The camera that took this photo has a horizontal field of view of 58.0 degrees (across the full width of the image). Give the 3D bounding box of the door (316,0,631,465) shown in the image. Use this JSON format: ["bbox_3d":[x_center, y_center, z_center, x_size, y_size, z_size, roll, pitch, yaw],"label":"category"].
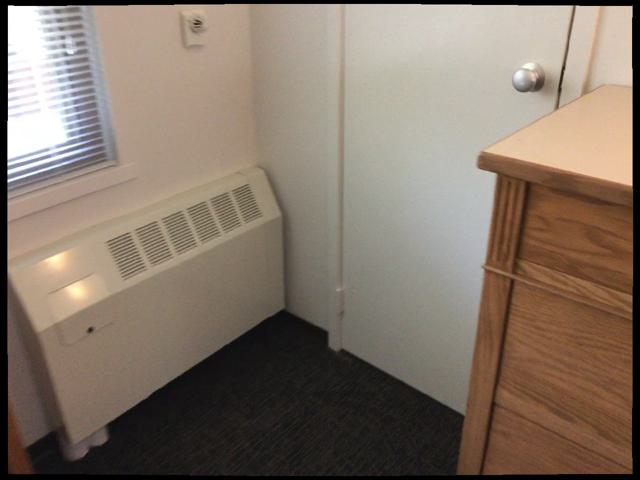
[{"bbox_3d":[0.309,-0.351,1.490,0.789,1.963,0.080,23,36,38],"label":"door"}]
